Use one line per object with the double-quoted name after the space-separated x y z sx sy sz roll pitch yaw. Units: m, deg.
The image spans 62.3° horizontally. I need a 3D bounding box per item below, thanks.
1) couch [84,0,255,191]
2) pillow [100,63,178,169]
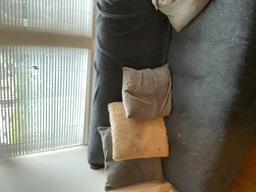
0.300 -0.280 1.430 0.950 0.840 1.870 30 119 56 "couch"
0.080 0.110 1.540 0.280 0.440 0.650 15 103 45 "pillow"
